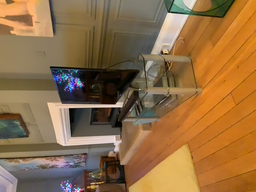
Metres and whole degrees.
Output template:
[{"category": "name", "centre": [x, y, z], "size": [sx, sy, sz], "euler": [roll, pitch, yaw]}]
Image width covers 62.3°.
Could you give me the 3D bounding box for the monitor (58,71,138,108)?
[{"category": "monitor", "centre": [-0.370, -0.020, 2.380], "size": [1.190, 0.680, 0.060], "euler": [128, 140, -70]}]

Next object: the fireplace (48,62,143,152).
[{"category": "fireplace", "centre": [-0.770, 0.370, 4.600], "size": [2.130, 1.550, 0.930], "euler": [111, 156, -55]}]
